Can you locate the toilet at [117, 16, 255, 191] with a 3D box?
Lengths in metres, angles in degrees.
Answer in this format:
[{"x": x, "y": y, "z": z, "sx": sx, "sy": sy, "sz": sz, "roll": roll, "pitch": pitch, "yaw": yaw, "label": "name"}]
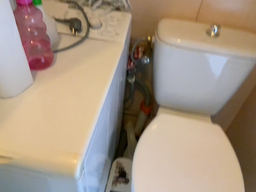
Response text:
[{"x": 0.210, "y": 0.250, "z": 0.880, "sx": 0.400, "sy": 0.850, "sz": 0.680, "roll": 11, "pitch": 44, "yaw": 5, "label": "toilet"}]
